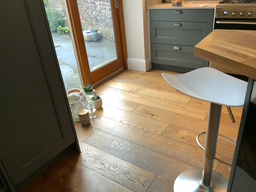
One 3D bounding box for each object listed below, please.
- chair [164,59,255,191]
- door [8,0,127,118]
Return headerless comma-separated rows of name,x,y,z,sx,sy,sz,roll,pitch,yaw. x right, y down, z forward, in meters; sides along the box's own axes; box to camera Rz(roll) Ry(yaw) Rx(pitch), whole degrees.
chair,0.400,0.240,1.160,0.390,0.750,0.460,-1,29,8
door,-0.550,-1.020,2.310,0.110,2.140,1.440,14,34,31
